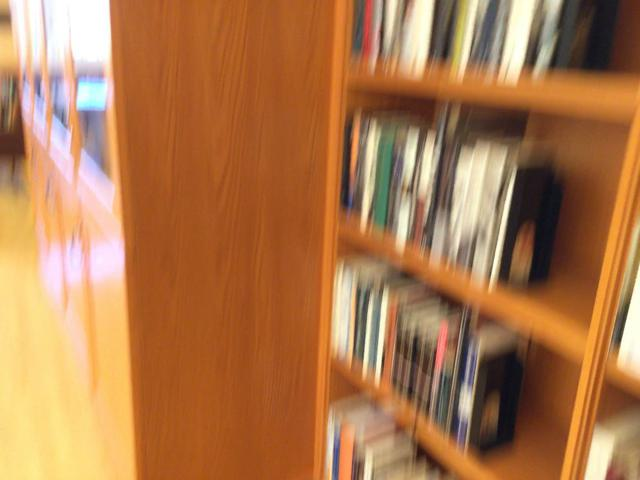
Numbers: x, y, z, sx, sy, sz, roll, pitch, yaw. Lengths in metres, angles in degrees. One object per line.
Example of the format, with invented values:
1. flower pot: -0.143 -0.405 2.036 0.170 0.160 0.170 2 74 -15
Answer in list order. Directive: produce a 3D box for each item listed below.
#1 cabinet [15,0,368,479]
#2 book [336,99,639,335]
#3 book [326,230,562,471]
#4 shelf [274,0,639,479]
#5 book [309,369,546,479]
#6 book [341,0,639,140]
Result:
1. cabinet: -0.600 -0.380 1.980 0.680 2.240 1.580 -4 18 -29
2. book: 0.320 -0.100 1.320 0.250 0.370 0.630 -4 18 -29
3. book: 0.270 0.230 1.460 0.240 0.370 0.540 -4 18 -29
4. shelf: 0.790 0.130 0.540 0.500 2.250 2.580 -4 18 -29
5. book: 0.260 0.660 1.620 0.330 0.310 0.570 -4 18 -29
6. book: 0.340 -0.410 1.150 0.210 0.320 0.750 -4 18 -29
